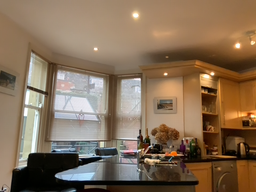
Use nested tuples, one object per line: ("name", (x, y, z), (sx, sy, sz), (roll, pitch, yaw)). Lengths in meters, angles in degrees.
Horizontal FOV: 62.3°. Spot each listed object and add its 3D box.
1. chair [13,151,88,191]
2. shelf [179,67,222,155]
("chair", (-0.710, 1.020, 1.980), (0.550, 0.930, 0.710), (4, -11, -15))
("shelf", (1.230, 0.270, 3.630), (0.550, 1.380, 0.380), (8, -12, -32))
